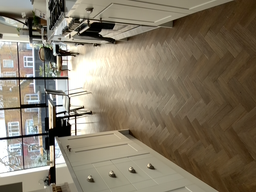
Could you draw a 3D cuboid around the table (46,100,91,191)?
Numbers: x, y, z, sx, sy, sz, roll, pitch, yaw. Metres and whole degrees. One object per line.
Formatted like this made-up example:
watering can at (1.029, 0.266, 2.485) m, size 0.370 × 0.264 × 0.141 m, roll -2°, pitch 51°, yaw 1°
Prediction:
table at (-1.370, 1.090, 4.800) m, size 0.970 × 0.790 × 1.830 m, roll -158°, pitch 68°, yaw -62°
